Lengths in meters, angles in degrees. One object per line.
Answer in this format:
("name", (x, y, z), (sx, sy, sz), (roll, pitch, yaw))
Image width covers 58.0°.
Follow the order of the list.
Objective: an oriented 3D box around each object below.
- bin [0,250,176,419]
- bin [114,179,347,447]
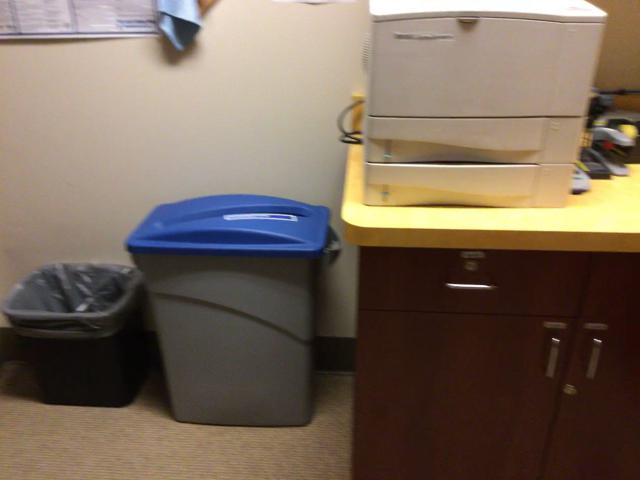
("bin", (-0.740, 0.290, 1.830), (0.450, 0.420, 0.280), (2, 25, 4))
("bin", (-0.220, 0.210, 1.730), (0.570, 0.680, 0.360), (2, 25, 4))
